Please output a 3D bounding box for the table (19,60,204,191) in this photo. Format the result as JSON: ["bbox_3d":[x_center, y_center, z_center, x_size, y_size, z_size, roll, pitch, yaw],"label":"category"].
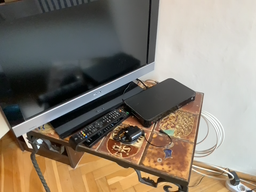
[{"bbox_3d":[-0.020,0.260,1.110,0.630,0.610,0.550,13,41,16],"label":"table"}]
